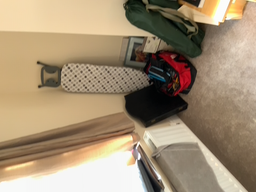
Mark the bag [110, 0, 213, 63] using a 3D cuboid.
[{"bbox_3d":[0.270,-0.590,1.800,0.320,0.730,0.510,46,135,49],"label":"bag"}]

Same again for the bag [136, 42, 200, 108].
[{"bbox_3d":[0.380,-0.250,2.240,0.620,0.240,0.460,46,135,49],"label":"bag"}]
